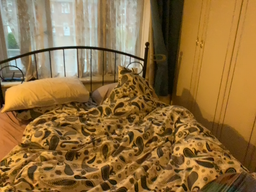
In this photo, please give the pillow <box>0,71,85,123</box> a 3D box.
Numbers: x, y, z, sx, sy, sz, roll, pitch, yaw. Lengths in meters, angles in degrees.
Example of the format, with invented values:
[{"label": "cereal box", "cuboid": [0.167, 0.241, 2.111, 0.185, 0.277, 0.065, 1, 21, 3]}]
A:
[{"label": "pillow", "cuboid": [-0.770, -0.020, 1.950, 0.650, 0.280, 0.410, -7, 23, -23]}]
